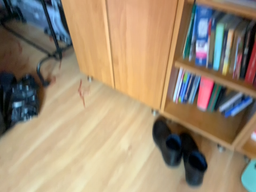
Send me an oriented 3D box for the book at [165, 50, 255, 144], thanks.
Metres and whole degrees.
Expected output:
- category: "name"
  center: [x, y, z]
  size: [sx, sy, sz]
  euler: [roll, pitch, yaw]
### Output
- category: "book"
  center: [0.460, 0.000, 1.160]
  size: [0.410, 0.300, 0.240]
  euler: [26, 55, 22]
